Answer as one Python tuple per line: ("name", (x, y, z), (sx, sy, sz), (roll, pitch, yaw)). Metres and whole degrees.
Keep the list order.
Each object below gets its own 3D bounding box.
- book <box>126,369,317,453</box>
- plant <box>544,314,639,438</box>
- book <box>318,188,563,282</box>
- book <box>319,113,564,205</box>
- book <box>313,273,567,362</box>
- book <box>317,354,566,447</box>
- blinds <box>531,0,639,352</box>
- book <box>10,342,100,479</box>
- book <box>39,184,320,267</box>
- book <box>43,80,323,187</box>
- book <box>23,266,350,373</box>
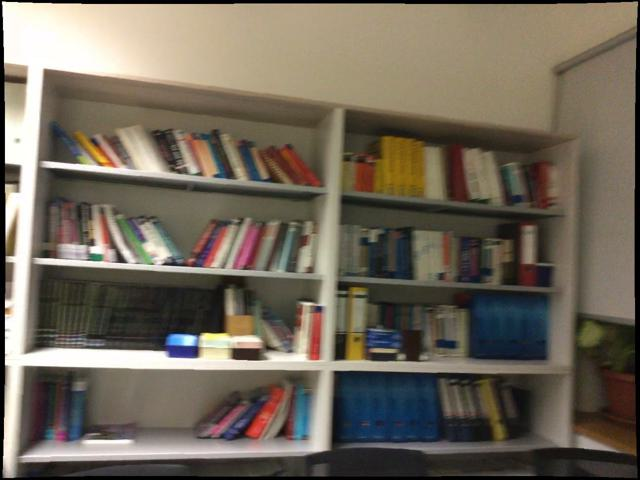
("book", (-0.420, 0.721, 2.490), (0.739, 0.250, 0.360), (3, -2, -12))
("plant", (1.429, 0.611, 2.740), (0.370, 0.440, 0.660), (3, -2, -12))
("book", (0.569, -0.010, 2.770), (1.099, 0.360, 0.320), (3, -2, -12))
("book", (0.579, -0.370, 2.800), (1.109, 0.300, 0.330), (3, -2, -12))
("book", (0.549, 0.360, 2.720), (1.099, 0.340, 0.370), (3, -2, -12))
("book", (0.559, 0.741, 2.720), (1.089, 0.330, 0.340), (3, -2, -12))
("blinds", (1.508, -0.270, 2.600), (0.460, 1.481, 1.140), (3, -2, -12))
("book", (-1.059, 0.671, 2.350), (0.220, 0.440, 0.420), (3, -2, -12))
("book", (-0.589, -0.050, 2.560), (1.139, 0.280, 0.250), (3, -2, -12))
("book", (-0.579, -0.450, 2.590), (1.119, 0.300, 0.380), (3, -2, -12))
("book", (-0.529, 0.330, 2.470), (1.229, 0.370, 0.430), (3, -2, -12))
